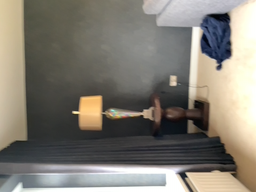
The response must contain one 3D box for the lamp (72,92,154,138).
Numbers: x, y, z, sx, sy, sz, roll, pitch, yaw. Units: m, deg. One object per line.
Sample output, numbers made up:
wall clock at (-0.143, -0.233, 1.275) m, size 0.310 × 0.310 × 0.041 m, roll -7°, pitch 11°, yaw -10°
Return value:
lamp at (-0.190, 0.220, 2.690) m, size 0.500 × 0.930 × 0.460 m, roll -118°, pitch 30°, yaw -81°
